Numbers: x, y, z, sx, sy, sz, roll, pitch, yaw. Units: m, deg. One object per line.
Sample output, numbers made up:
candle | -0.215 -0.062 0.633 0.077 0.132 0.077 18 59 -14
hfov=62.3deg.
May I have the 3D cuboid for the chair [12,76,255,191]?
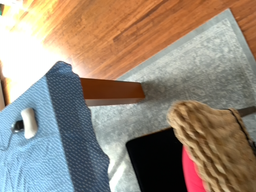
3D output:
chair | 0.250 0.320 0.820 0.610 1.000 0.480 -32 72 32
